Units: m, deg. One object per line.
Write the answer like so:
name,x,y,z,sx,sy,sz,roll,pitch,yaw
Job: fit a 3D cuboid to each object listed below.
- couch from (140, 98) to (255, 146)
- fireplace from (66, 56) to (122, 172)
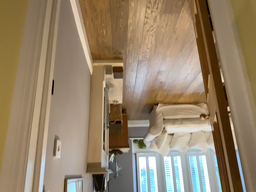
couch,1.530,0.600,4.650,2.390,0.810,0.930,-1,161,-4
fireplace,-0.380,0.410,3.100,0.530,1.270,1.680,-2,161,-1
